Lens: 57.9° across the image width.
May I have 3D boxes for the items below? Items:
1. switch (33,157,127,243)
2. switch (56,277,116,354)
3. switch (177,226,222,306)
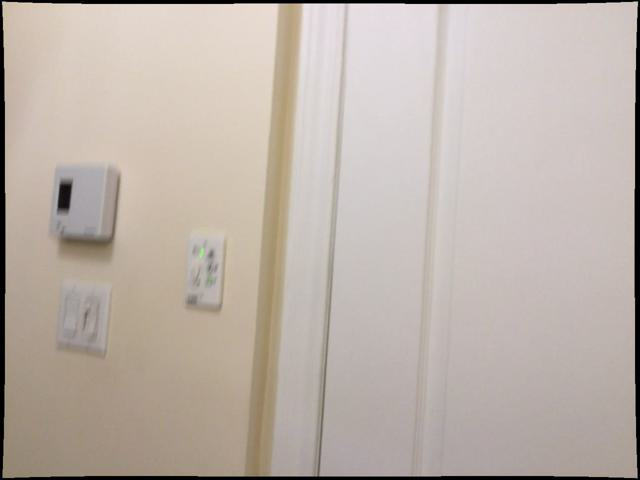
[{"bbox_3d":[-0.420,-0.070,1.010,0.160,0.140,0.050,4,-2,28],"label":"switch"},{"bbox_3d":[-0.410,0.130,1.010,0.110,0.120,0.020,4,-2,28],"label":"switch"},{"bbox_3d":[-0.190,0.040,0.910,0.070,0.120,0.010,4,-2,28],"label":"switch"}]
